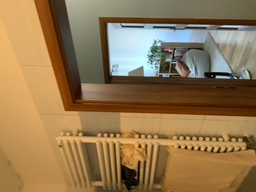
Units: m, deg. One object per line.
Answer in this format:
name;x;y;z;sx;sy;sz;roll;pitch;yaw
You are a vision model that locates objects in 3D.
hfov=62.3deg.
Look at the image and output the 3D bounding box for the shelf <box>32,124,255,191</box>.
shelf;0.150;0.580;1.610;0.120;1.490;0.860;-86;-3;-50
